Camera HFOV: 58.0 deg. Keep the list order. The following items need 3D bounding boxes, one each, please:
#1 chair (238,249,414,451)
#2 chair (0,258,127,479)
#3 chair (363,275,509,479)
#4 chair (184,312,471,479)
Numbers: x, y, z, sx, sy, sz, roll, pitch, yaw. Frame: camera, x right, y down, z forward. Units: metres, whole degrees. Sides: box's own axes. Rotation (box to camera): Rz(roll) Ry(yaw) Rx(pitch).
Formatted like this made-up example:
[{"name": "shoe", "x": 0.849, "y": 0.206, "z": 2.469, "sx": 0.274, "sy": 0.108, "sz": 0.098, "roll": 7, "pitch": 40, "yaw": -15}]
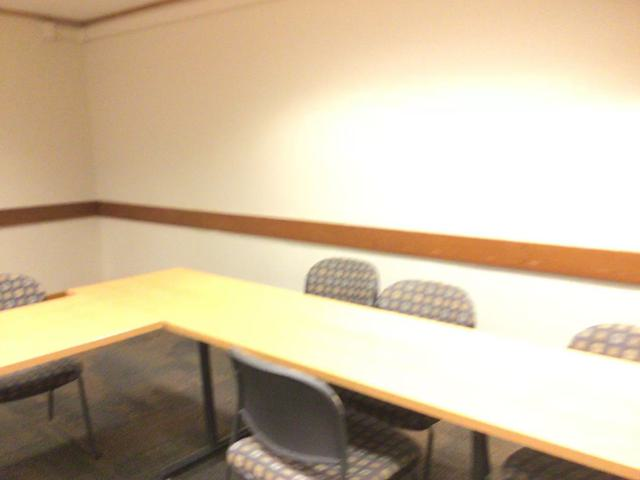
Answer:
[{"name": "chair", "x": 0.030, "y": 0.440, "z": 2.630, "sx": 0.510, "sy": 0.700, "sz": 0.610, "roll": 7, "pitch": 8, "yaw": 41}, {"name": "chair", "x": -1.230, "y": 0.520, "z": 2.380, "sx": 0.630, "sy": 0.780, "sz": 0.570, "roll": 7, "pitch": 8, "yaw": 41}, {"name": "chair", "x": 0.450, "y": 0.580, "z": 2.320, "sx": 0.490, "sy": 0.800, "sz": 0.240, "roll": 6, "pitch": 8, "yaw": 40}, {"name": "chair", "x": 0.020, "y": 0.680, "z": 1.720, "sx": 0.600, "sy": 0.750, "sz": 0.580, "roll": 7, "pitch": 8, "yaw": 41}]
